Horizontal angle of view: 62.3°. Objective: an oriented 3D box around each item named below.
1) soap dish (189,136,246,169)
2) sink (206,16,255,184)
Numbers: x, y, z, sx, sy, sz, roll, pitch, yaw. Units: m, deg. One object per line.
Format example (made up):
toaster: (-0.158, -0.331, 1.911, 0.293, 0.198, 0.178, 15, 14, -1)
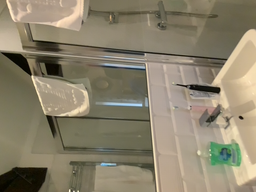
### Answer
soap dish: (0.370, 0.240, 0.890, 0.090, 0.180, 0.100, 102, 170, -51)
sink: (0.560, 0.020, 0.890, 0.420, 0.170, 0.560, 102, 170, -52)
